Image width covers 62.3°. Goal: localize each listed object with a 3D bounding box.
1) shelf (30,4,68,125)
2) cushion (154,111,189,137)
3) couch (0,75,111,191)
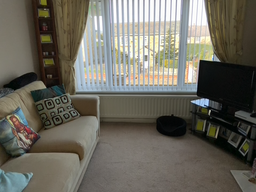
[{"bbox_3d":[-1.220,-0.440,3.350,0.290,1.850,0.220,1,17,6],"label":"shelf"},{"bbox_3d":[0.650,0.420,3.300,0.490,0.190,0.490,1,17,6],"label":"cushion"},{"bbox_3d":[-0.900,0.490,2.010,1.150,0.870,2.530,0,17,2],"label":"couch"}]
